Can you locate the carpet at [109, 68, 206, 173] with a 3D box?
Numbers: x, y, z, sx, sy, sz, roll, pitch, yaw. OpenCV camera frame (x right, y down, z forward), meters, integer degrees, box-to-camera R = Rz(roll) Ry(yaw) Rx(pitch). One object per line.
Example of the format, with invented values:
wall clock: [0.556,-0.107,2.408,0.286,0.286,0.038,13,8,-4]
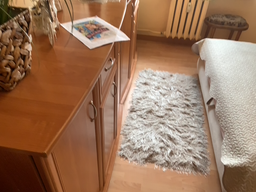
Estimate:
carpet: [0.310,0.120,2.040,0.720,0.050,1.200,9,40,5]

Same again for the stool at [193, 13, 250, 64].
stool: [1.200,-0.760,2.810,0.530,0.500,0.320,10,40,7]
